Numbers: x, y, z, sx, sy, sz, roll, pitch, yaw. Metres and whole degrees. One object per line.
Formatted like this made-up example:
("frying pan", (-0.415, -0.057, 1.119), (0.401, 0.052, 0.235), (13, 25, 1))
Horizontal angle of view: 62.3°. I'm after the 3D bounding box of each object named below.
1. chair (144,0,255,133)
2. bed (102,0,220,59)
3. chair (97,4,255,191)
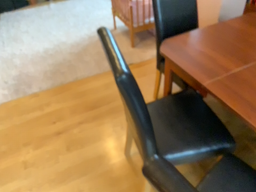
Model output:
("chair", (0.480, -0.320, 1.670), (0.430, 1.000, 0.600), (-27, 46, -23))
("bed", (0.430, -1.270, 2.890), (1.390, 0.960, 0.730), (-18, 44, -15))
("chair", (0.230, 0.120, 1.200), (0.600, 1.010, 0.500), (-12, 42, -9))
